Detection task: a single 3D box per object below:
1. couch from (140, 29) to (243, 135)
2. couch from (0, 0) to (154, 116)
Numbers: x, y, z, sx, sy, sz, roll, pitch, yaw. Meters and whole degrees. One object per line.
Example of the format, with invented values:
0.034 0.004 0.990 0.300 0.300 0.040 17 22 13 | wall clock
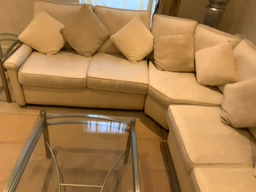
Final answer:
0.600 -0.160 2.080 0.860 0.800 0.320 -21 46 -34 | couch
-0.480 -0.430 2.220 1.220 0.810 0.940 3 37 -8 | couch
